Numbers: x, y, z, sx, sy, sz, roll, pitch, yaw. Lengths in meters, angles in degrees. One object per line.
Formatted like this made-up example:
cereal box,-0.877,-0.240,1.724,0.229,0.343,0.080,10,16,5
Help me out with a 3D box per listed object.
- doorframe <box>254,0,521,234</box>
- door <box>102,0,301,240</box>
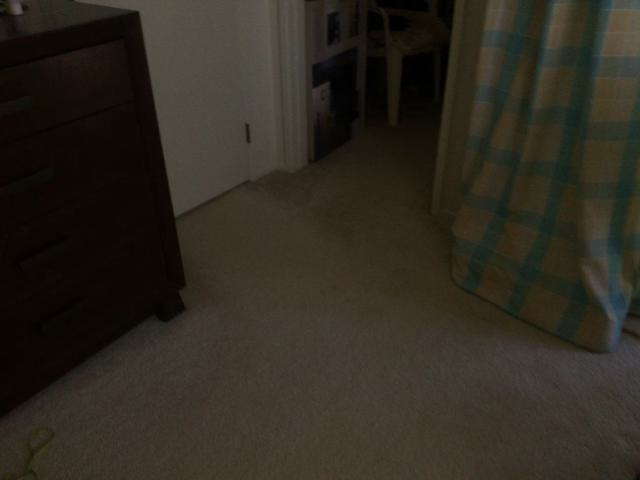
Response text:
doorframe,0.240,-0.660,2.360,0.960,0.980,0.370,20,39,33
door,-0.400,-0.590,2.310,0.120,0.940,0.780,20,39,33
